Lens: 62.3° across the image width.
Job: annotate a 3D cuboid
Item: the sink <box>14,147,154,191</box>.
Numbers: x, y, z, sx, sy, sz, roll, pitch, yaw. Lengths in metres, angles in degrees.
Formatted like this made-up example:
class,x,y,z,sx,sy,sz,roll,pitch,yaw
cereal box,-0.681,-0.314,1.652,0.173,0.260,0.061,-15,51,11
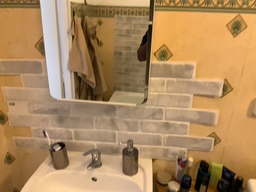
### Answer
class,x,y,z,sx,sy,sz,roll,pitch,yaw
sink,-0.170,0.450,0.940,0.550,0.180,0.400,5,21,7
